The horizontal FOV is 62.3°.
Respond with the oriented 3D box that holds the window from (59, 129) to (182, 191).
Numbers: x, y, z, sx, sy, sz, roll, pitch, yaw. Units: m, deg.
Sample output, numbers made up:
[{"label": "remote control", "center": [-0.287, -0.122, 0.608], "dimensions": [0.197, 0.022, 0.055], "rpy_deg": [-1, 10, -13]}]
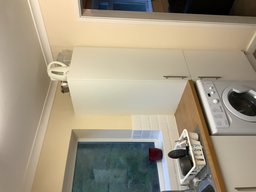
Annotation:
[{"label": "window", "center": [-0.060, 1.060, 2.030], "dimensions": [0.120, 1.190, 1.610], "rpy_deg": [96, 174, -51]}]
